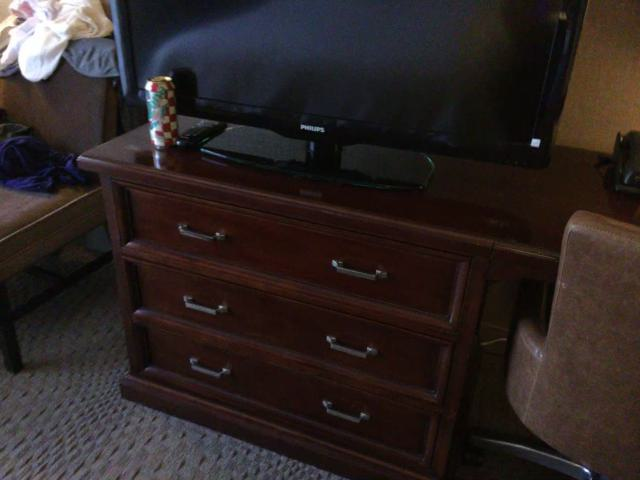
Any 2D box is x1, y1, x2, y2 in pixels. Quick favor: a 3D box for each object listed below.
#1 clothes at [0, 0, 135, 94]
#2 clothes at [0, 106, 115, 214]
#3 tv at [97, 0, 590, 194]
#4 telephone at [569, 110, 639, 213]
[{"bbox_3d":[-0.880,-0.680,1.880,0.450,0.310,0.230,11,29,16],"label":"clothes"},{"bbox_3d":[-0.990,-0.280,1.890,0.530,0.220,0.260,11,29,16],"label":"clothes"},{"bbox_3d":[0.000,-0.500,1.200,1.020,0.650,0.120,11,29,16],"label":"tv"},{"bbox_3d":[0.770,-0.180,1.340,0.320,0.120,0.360,11,29,16],"label":"telephone"}]
